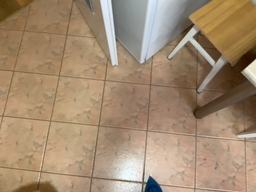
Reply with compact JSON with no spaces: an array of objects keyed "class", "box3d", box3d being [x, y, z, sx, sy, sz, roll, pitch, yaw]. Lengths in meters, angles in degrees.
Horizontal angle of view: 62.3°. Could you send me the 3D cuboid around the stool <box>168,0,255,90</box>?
[{"class":"stool","box3d":[0.500,-0.320,1.220,0.310,0.470,0.340,-33,78,-8]}]
